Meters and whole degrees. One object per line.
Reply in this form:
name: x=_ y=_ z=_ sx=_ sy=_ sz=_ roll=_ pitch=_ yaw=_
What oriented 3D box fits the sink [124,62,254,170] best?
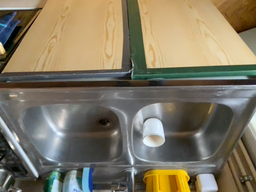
sink: x=0.180 y=0.100 z=0.830 sx=0.380 sy=0.170 sz=0.430 roll=-1 pitch=134 yaw=0

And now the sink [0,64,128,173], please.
sink: x=-0.200 y=0.110 z=0.830 sx=0.390 sy=0.180 sz=0.430 roll=-1 pitch=134 yaw=0
